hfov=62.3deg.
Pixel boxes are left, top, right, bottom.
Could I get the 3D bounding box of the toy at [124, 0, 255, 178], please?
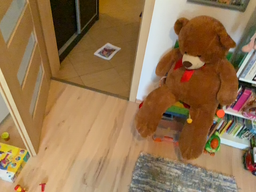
[{"bbox_3d":[0.360,0.020,1.440,0.540,1.050,0.490,19,47,9],"label":"toy"}]
